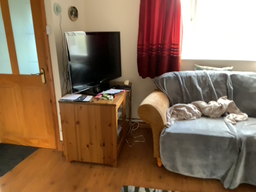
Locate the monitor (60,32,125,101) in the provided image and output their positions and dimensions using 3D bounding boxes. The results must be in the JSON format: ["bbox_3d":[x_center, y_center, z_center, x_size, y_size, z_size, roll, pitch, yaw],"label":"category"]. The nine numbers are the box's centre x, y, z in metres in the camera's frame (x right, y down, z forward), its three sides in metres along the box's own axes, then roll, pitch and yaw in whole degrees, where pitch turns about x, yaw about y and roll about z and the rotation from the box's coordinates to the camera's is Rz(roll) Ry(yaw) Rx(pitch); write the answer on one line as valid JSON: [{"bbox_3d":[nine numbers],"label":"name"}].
[{"bbox_3d":[-0.340,-0.410,2.520,0.060,0.660,1.080,10,20,29],"label":"monitor"}]
